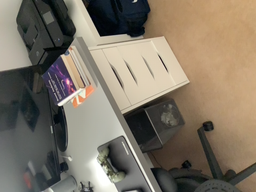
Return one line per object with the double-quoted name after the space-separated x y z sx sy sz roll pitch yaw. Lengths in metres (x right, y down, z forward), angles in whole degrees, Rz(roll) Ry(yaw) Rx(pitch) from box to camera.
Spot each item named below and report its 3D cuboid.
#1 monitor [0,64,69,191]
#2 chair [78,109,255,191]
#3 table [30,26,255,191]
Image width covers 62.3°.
-0.550 0.240 1.070 0.040 0.470 0.730 21 121 39 "monitor"
0.300 0.610 1.040 0.760 1.010 0.660 -28 86 46 "chair"
0.130 0.450 1.360 0.780 0.720 1.500 -34 81 47 "table"
